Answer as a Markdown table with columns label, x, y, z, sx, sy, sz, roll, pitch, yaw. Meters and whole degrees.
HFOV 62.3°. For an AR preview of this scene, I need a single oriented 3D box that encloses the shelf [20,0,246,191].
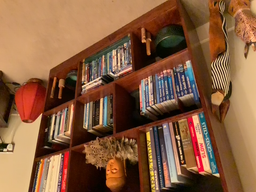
| label | x | y | z | sx | sy | sz | roll | pitch | yaw |
| --- | --- | --- | --- | --- | --- | --- | --- | --- | --- |
| shelf | -0.080 | 0.430 | 1.240 | 1.260 | 1.850 | 0.370 | -21 | 146 | 28 |
